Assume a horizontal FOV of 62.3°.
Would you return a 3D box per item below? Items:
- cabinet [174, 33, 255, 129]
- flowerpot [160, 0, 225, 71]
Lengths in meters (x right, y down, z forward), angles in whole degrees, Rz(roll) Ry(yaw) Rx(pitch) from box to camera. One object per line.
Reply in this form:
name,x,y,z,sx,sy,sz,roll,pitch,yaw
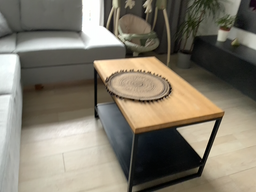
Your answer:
cabinet,1.210,-0.050,1.950,0.370,0.460,2.200,-8,33,-20
flowerpot,0.790,-0.880,2.810,0.340,0.870,0.670,-6,32,-17
